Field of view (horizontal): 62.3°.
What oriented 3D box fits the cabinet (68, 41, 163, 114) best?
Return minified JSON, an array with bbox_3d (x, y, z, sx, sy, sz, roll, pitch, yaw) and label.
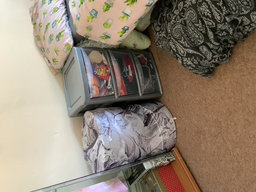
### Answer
[{"bbox_3d":[-0.110,-0.130,1.620,0.410,0.530,0.380,-33,67,56],"label":"cabinet"}]
